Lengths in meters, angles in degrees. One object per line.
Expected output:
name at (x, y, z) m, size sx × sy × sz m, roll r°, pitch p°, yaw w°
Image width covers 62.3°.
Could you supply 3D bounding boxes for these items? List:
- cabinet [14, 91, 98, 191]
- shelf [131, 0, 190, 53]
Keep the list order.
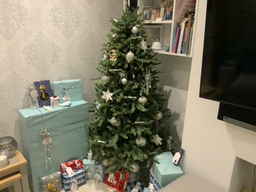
cabinet at (-0.670, 0.420, 2.130) m, size 0.270 × 0.780 × 0.700 m, roll 18°, pitch 24°, yaw 40°
shelf at (0.300, -0.850, 2.030) m, size 0.220 × 0.800 × 0.520 m, roll -14°, pitch 24°, yaw -39°
